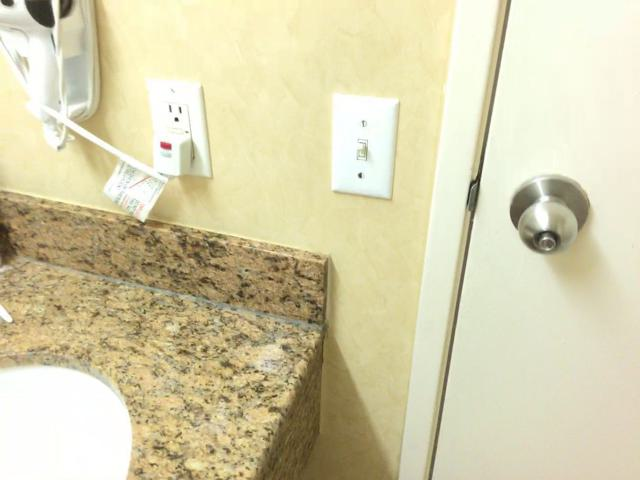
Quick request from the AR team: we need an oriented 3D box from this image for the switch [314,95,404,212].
[{"bbox_3d":[0.040,-0.090,0.610,0.090,0.120,0.010,8,32,16],"label":"switch"}]
